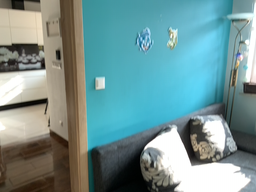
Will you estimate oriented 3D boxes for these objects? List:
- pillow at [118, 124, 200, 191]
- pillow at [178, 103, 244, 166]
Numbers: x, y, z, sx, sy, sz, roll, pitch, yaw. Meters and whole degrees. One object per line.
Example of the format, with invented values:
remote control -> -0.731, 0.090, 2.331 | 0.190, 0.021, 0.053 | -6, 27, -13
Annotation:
pillow -> 0.290, 0.510, 1.700 | 0.310, 0.380, 0.700 | -11, 2, 35
pillow -> 0.920, 0.400, 2.320 | 0.630, 0.450, 0.240 | -17, -13, -39
